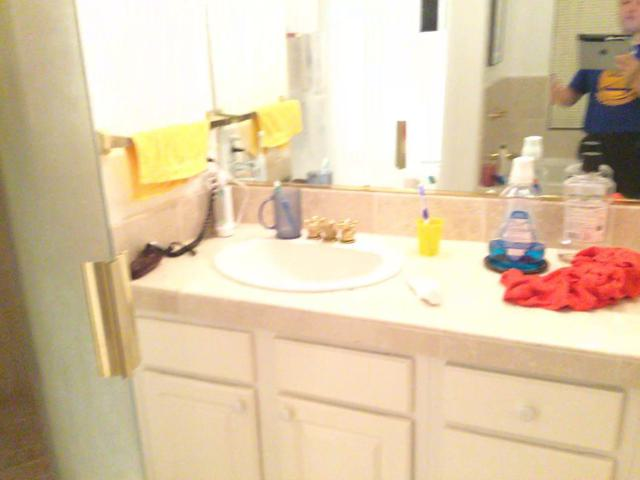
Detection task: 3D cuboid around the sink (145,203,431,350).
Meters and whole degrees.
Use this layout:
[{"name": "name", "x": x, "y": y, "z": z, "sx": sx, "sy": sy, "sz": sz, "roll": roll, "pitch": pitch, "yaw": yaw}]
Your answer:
[{"name": "sink", "x": -0.060, "y": 0.060, "z": 1.540, "sx": 0.610, "sy": 0.200, "sz": 0.460, "roll": 5, "pitch": 16, "yaw": 22}]

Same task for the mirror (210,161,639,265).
[{"name": "mirror", "x": 0.760, "y": -0.060, "z": 1.460, "sx": 2.270, "sy": 0.180, "sz": 0.230, "roll": 5, "pitch": 16, "yaw": 22}]
